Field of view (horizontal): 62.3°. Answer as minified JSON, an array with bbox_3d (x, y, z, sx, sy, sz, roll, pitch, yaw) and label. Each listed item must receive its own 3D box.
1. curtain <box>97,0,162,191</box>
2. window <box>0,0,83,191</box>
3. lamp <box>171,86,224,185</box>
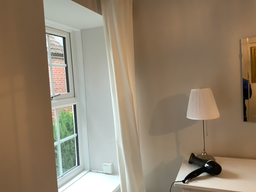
[{"bbox_3d":[0.050,0.310,1.670,0.310,2.200,0.340,-1,5,24],"label":"curtain"},{"bbox_3d":[-0.690,0.040,1.760,0.080,1.450,0.770,-1,5,24],"label":"window"},{"bbox_3d":[0.480,0.260,1.520,0.290,0.630,0.310,-3,5,7],"label":"lamp"}]
